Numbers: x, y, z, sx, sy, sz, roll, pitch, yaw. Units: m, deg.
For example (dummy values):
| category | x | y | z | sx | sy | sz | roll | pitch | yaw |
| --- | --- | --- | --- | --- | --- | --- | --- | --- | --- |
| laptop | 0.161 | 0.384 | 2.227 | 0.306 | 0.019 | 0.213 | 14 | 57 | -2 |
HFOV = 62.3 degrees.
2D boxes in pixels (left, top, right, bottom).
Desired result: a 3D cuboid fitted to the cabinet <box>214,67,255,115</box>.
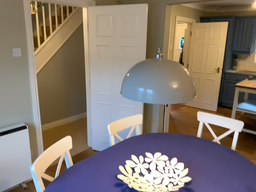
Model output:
| category | x | y | z | sx | sy | sz | roll | pitch | yaw |
| --- | --- | --- | --- | --- | --- | --- | --- | --- | --- |
| cabinet | 3.030 | -0.070 | 4.720 | 1.870 | 0.890 | 0.600 | 13 | 20 | 37 |

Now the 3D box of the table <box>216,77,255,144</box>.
| category | x | y | z | sx | sy | sz | roll | pitch | yaw |
| --- | --- | --- | --- | --- | --- | --- | --- | --- | --- |
| table | 2.030 | 0.190 | 3.700 | 0.590 | 0.890 | 0.790 | 13 | 20 | 37 |

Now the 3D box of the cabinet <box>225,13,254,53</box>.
| category | x | y | z | sx | sy | sz | roll | pitch | yaw |
| --- | --- | --- | --- | --- | --- | --- | --- | --- | --- |
| cabinet | 2.580 | -1.450 | 4.920 | 0.440 | 0.830 | 0.330 | 13 | 20 | 37 |
